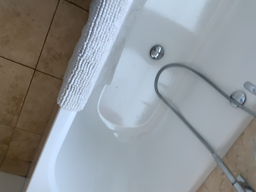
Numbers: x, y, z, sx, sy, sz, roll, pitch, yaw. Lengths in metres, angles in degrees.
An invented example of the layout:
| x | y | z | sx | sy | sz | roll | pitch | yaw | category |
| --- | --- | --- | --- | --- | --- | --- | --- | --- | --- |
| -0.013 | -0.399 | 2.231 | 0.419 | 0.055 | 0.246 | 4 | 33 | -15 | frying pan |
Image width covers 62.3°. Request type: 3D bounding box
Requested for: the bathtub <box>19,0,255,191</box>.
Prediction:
| x | y | z | sx | sy | sz | roll | pitch | yaw | category |
| --- | --- | --- | --- | --- | --- | --- | --- | --- | --- |
| 0.160 | -0.200 | 0.960 | 0.740 | 0.560 | 2.120 | 20 | 111 | -19 | bathtub |
